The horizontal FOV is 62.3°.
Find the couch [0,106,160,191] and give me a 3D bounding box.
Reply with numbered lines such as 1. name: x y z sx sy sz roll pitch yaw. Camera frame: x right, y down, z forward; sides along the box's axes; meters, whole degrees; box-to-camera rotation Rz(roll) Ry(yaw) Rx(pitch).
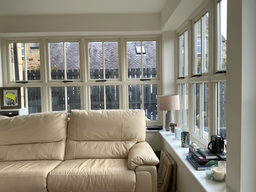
1. couch: -0.740 0.660 2.360 2.050 0.950 0.920 -1 3 1
